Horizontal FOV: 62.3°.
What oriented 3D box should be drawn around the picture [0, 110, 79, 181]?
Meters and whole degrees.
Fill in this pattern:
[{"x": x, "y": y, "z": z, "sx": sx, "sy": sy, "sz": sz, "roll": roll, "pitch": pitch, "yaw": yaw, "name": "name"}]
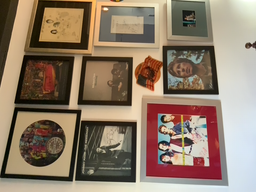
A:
[{"x": -0.540, "y": 0.300, "z": 1.330, "sx": 0.030, "sy": 0.430, "sz": 0.420, "roll": 91, "pitch": 180, "yaw": -75, "name": "picture"}]
